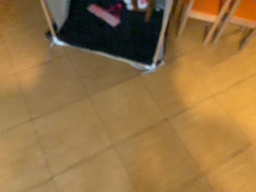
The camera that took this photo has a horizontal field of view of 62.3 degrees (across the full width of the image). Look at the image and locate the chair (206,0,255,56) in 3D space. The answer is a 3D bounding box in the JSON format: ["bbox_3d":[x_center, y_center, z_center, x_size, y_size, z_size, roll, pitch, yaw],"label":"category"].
[{"bbox_3d":[0.870,-0.660,1.600,0.290,0.610,0.340,16,63,5],"label":"chair"}]

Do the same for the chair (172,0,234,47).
[{"bbox_3d":[0.590,-0.740,1.620,0.300,0.610,0.340,16,63,5],"label":"chair"}]
